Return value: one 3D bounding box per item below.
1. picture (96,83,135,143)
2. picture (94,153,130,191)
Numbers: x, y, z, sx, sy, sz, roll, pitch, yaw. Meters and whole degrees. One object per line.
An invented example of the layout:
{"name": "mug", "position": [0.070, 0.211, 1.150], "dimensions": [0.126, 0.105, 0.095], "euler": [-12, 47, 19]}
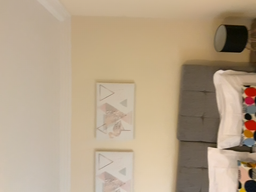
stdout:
{"name": "picture", "position": [-0.130, 0.180, 2.210], "dimensions": [0.020, 0.390, 0.610], "euler": [-95, 6, -85]}
{"name": "picture", "position": [-0.170, 0.910, 2.270], "dimensions": [0.040, 0.370, 0.590], "euler": [-94, 6, -85]}
